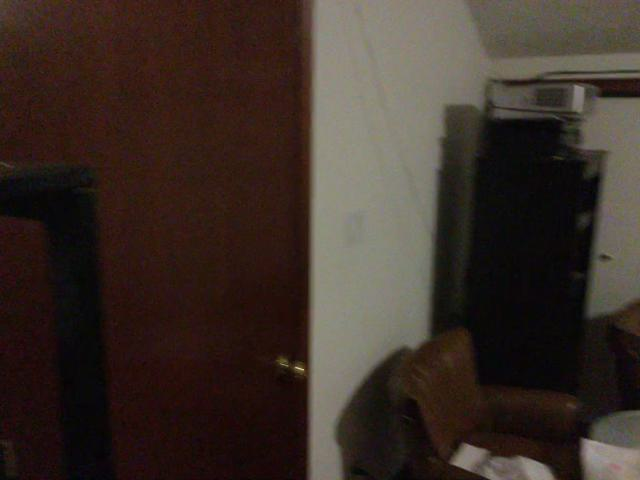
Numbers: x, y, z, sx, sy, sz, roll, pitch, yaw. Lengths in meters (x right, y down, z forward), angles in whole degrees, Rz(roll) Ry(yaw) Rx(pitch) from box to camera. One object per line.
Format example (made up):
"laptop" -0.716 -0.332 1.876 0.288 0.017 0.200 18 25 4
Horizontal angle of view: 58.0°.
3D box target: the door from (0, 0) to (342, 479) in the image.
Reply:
"door" -0.270 0.220 1.200 0.150 2.160 0.870 5 14 34
